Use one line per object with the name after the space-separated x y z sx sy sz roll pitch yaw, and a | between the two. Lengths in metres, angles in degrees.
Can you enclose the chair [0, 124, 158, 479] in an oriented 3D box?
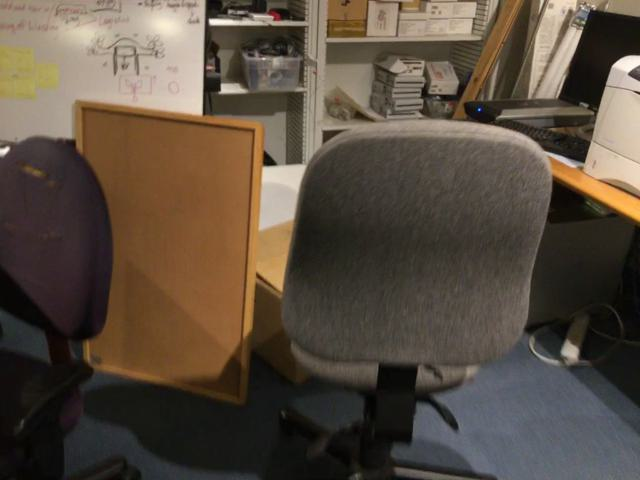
-0.770 0.320 1.270 0.720 0.960 0.670 -8 26 -18 | chair
